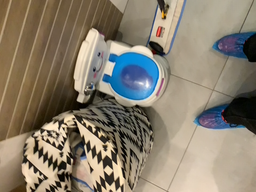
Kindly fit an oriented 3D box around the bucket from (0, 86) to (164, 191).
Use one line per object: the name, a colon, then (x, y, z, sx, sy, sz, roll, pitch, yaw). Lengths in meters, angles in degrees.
bucket: (-0.140, 0.220, 0.940, 0.430, 0.550, 0.380, 22, 99, 12)
